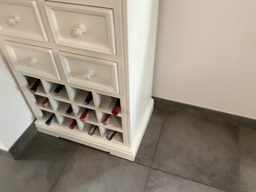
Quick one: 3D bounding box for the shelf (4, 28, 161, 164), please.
[{"bbox_3d":[-0.200,-0.020,1.250,0.650,0.490,0.460,13,47,14],"label":"shelf"}]
